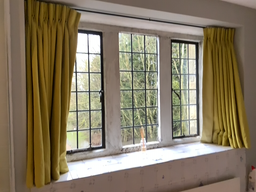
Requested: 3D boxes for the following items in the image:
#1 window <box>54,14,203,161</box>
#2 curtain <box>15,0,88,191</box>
[{"bbox_3d":[0.100,-0.080,2.040,1.510,1.180,0.090,-1,2,-23],"label":"window"},{"bbox_3d":[-0.530,-0.050,1.480,0.410,1.250,0.330,-1,2,-24],"label":"curtain"}]
